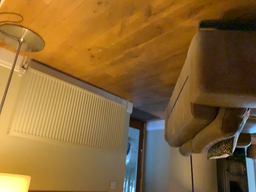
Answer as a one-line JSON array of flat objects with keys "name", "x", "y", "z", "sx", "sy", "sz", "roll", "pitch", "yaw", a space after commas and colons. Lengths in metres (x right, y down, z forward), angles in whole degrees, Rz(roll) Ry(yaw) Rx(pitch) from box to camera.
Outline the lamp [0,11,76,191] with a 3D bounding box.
[{"name": "lamp", "x": -0.950, "y": 0.210, "z": 1.700, "sx": 0.510, "sy": 1.480, "sz": 0.700, "roll": 23, "pitch": 153, "yaw": -40}]

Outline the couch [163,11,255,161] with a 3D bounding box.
[{"name": "couch", "x": 1.000, "y": 0.150, "z": 2.100, "sx": 1.100, "sy": 0.760, "sz": 1.870, "roll": 3, "pitch": 160, "yaw": 5}]
